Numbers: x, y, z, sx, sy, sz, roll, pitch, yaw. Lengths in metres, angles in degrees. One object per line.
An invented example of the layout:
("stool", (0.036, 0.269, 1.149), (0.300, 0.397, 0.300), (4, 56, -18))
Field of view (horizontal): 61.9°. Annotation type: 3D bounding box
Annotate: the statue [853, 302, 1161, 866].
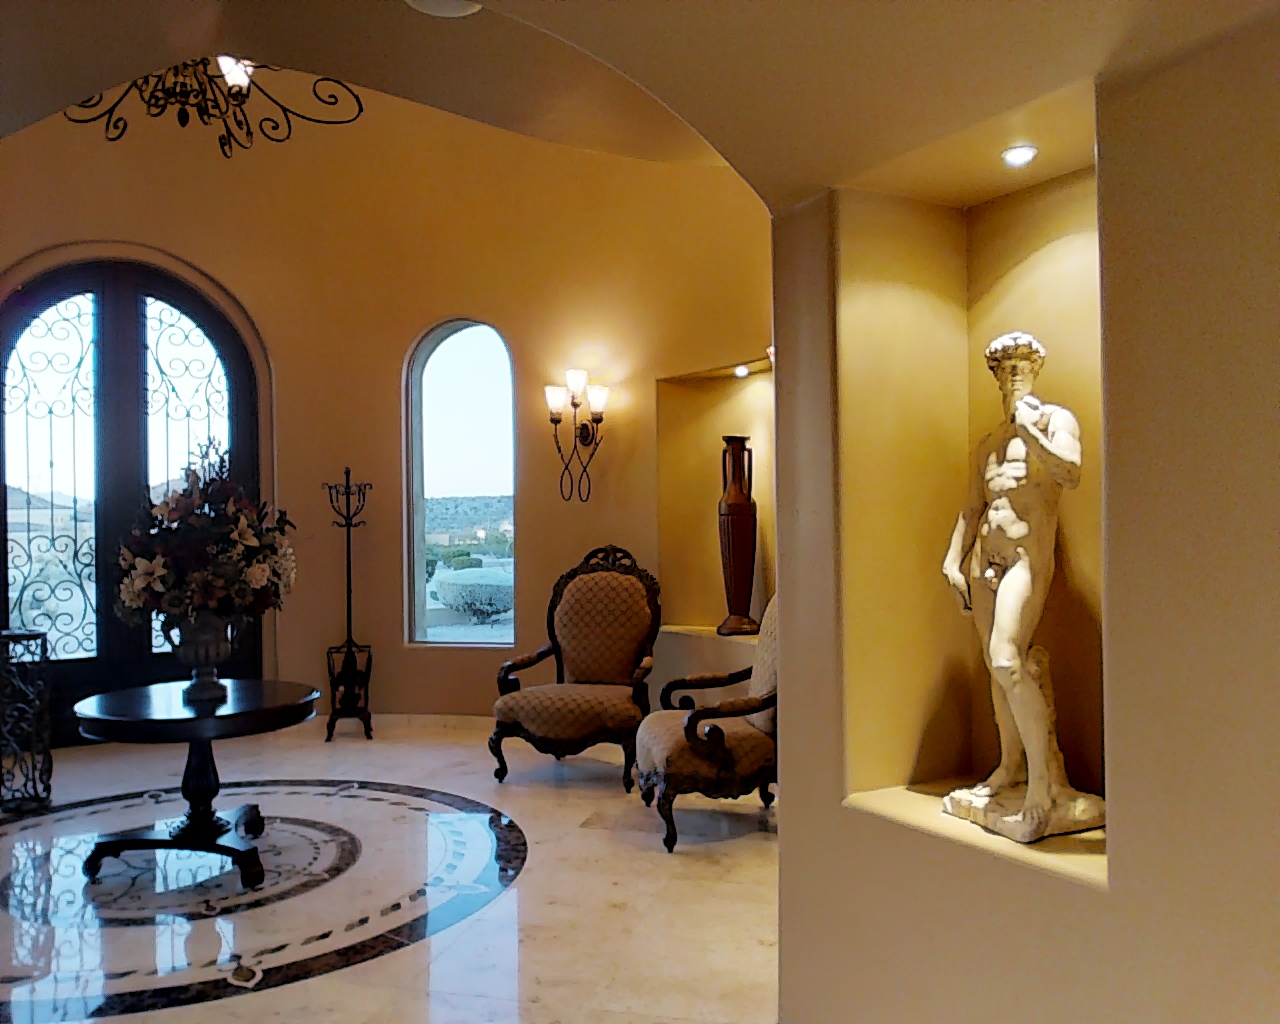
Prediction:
("statue", (0.870, 0.150, 2.600), (0.350, 1.190, 0.610), (-1, 1, -30))
